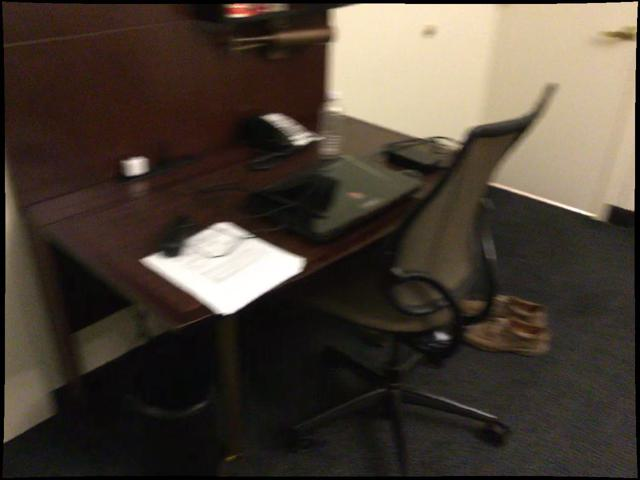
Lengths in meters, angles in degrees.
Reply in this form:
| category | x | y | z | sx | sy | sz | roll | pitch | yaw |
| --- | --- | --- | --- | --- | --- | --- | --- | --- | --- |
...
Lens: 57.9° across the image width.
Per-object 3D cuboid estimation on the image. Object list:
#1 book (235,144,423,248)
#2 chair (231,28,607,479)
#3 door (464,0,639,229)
| category | x | y | z | sx | sy | sz | roll | pitch | yaw |
| --- | --- | --- | --- | --- | --- | --- | --- | --- | --- |
| book | 0.030 | -0.140 | 1.610 | 0.330 | 0.060 | 0.410 | 26 | 39 | 35 |
| chair | 0.210 | 0.080 | 1.600 | 0.650 | 1.111 | 0.550 | 26 | 39 | 35 |
| door | 1.309 | -1.171 | 2.720 | 1.000 | 2.122 | 0.130 | 26 | 39 | 35 |
